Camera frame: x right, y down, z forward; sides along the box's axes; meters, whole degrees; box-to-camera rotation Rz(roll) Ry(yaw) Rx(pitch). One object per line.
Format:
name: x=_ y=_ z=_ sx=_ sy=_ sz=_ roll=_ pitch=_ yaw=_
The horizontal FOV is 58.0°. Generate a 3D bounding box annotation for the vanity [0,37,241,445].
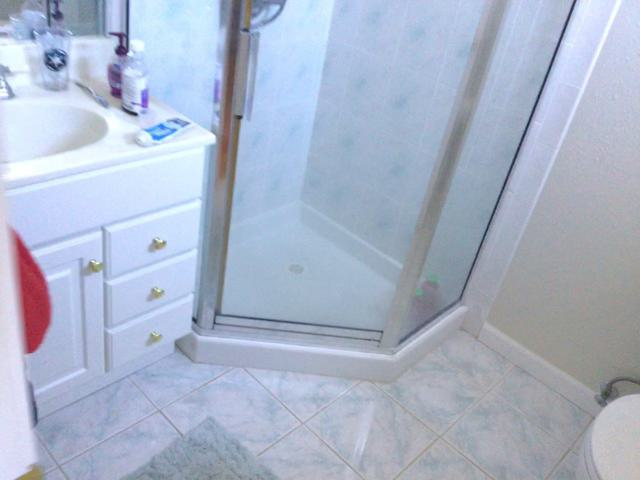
vanity: x=-0.720 y=-0.020 z=1.490 sx=0.490 sy=0.820 sz=0.810 roll=34 pitch=38 yaw=32
